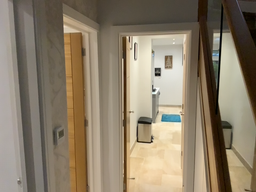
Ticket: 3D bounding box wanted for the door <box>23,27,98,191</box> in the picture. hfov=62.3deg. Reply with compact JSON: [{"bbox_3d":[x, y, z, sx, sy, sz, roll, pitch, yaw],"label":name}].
[{"bbox_3d":[-0.730,0.340,2.350,0.770,2.090,0.060,1,8,12],"label":"door"}]
